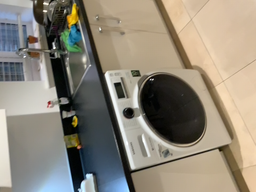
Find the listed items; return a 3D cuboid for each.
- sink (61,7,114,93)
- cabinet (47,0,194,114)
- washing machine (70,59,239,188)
[{"bbox_3d":[-0.360,-0.340,1.730,0.560,0.190,0.410,-47,54,50],"label":"sink"},{"bbox_3d":[-0.240,-0.820,2.130,0.700,0.870,1.800,-47,54,50],"label":"cabinet"},{"bbox_3d":[0.130,0.220,1.650,0.790,0.870,0.620,-47,54,50],"label":"washing machine"}]
